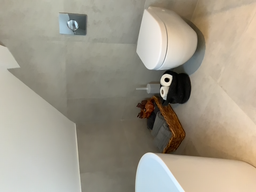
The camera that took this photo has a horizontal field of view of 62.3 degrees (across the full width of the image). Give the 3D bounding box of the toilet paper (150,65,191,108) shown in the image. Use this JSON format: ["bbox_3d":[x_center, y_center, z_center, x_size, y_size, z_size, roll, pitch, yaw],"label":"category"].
[{"bbox_3d":[0.380,-0.100,1.990,0.340,0.200,0.310,-129,40,-62],"label":"toilet paper"}]
